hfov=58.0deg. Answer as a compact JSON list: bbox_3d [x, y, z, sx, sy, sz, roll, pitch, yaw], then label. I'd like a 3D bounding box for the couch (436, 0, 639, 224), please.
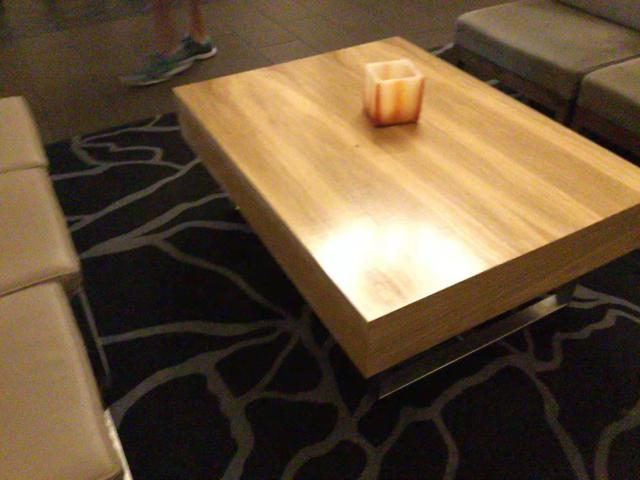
[{"bbox_3d":[1.240,-0.730,2.190,0.730,0.840,1.480,-20,43,-21],"label":"couch"}]
